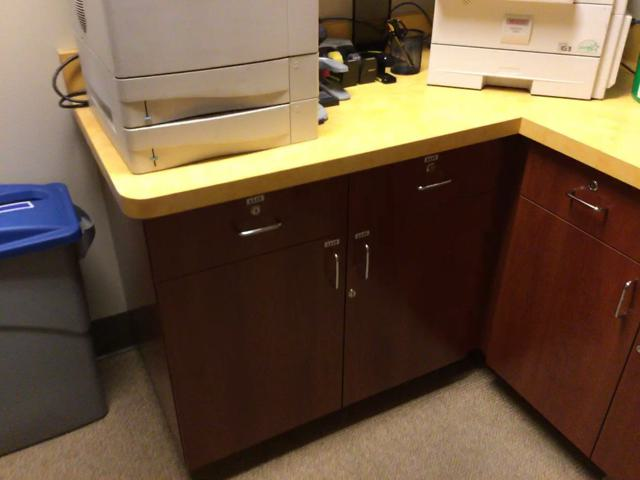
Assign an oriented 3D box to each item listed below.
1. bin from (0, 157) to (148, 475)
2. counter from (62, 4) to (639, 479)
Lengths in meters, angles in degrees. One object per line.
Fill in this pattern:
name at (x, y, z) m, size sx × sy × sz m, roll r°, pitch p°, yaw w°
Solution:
bin at (-0.820, 0.210, 1.500) m, size 0.570 × 0.680 × 0.360 m, roll -14°, pitch 33°, yaw -23°
counter at (0.680, 0.080, 0.670) m, size 1.530 × 0.240 × 2.770 m, roll -14°, pitch 33°, yaw -23°
